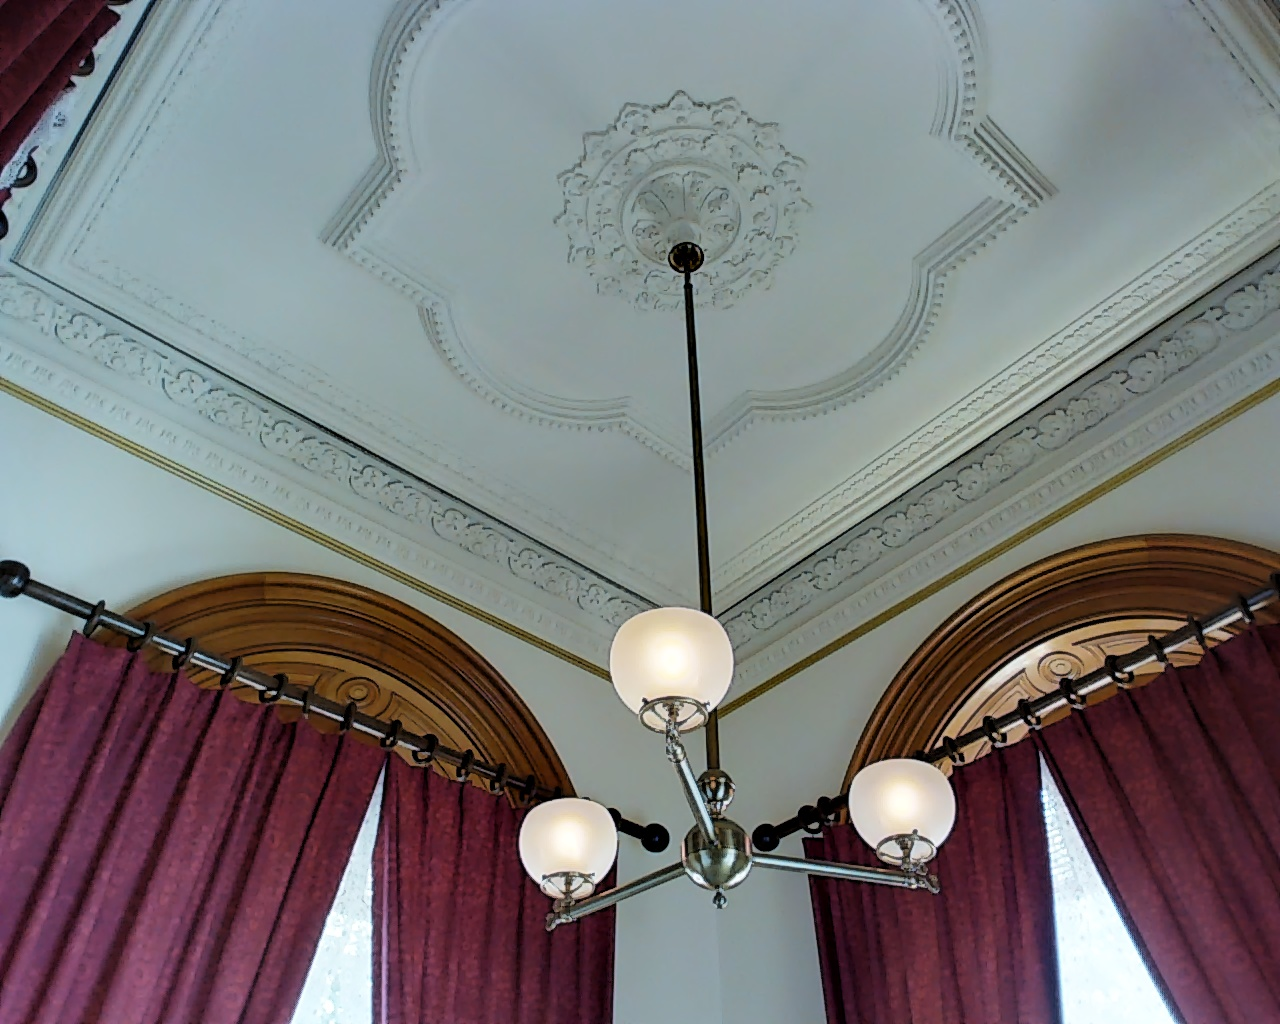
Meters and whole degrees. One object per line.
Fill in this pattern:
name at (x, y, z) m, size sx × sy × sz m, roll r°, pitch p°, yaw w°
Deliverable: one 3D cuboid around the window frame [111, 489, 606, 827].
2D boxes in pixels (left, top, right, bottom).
window frame at (-0.870, 0.560, 3.830) m, size 1.770 × 0.580 × 0.160 m, roll 29°, pitch -50°, yaw -28°
